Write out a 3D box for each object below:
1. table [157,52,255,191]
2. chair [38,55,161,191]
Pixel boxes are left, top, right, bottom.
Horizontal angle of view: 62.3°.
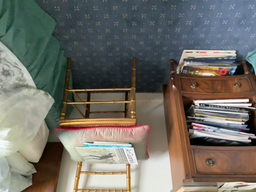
[{"bbox_3d":[0.480,0.150,1.250,0.520,0.710,0.400,-1,148,0],"label":"table"},{"bbox_3d":[-0.120,0.230,1.210,0.510,0.870,0.390,-1,148,0],"label":"chair"}]
